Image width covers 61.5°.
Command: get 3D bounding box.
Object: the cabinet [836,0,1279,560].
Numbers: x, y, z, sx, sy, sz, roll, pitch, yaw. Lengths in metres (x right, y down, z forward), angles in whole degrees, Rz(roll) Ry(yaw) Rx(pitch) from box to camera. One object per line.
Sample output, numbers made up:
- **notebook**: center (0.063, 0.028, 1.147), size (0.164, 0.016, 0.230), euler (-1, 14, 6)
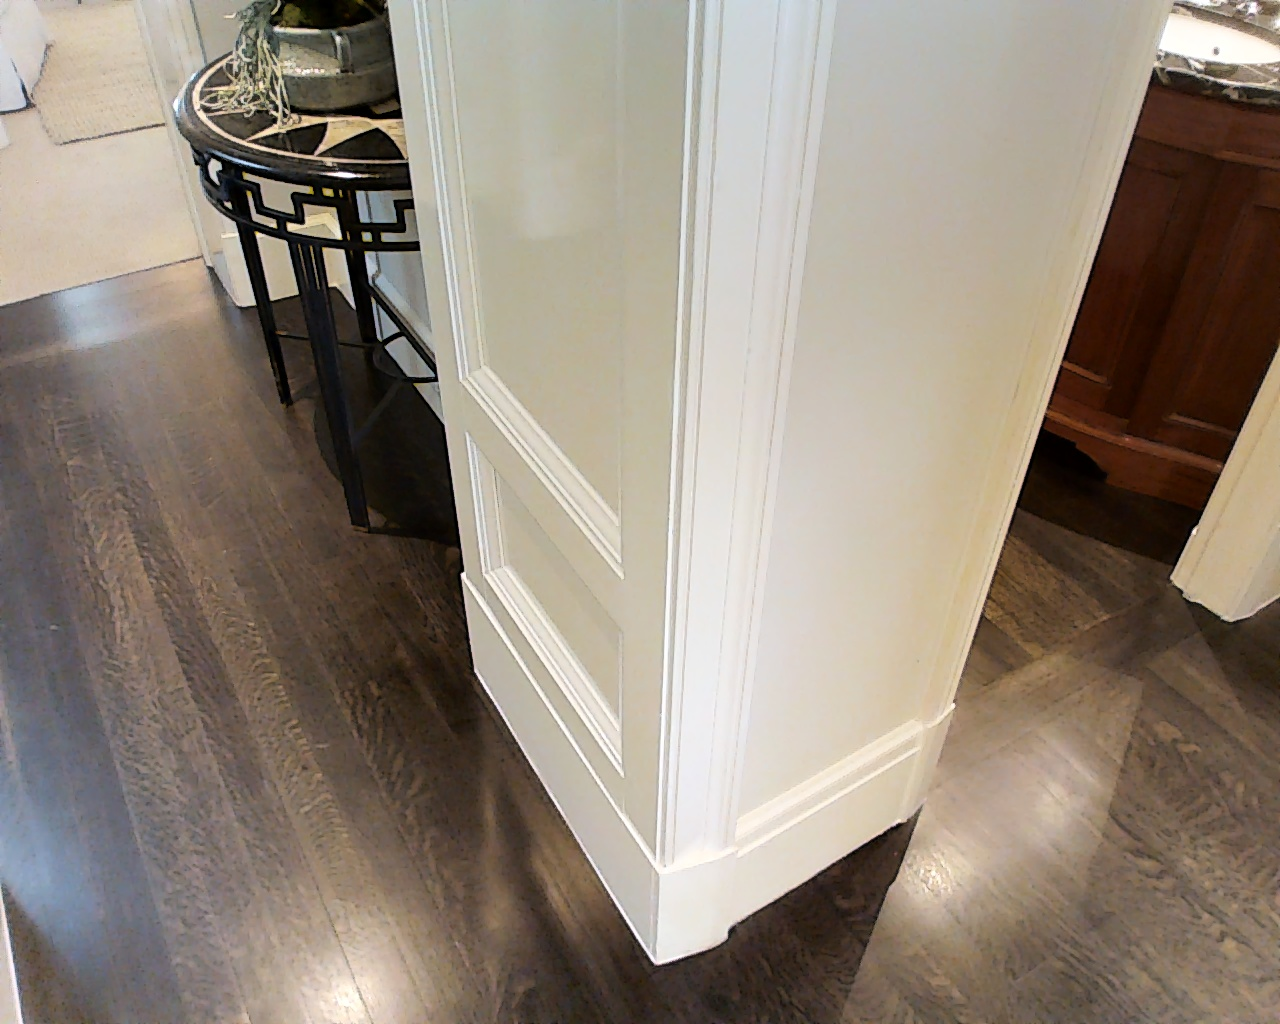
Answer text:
- **cabinet**: center (1.130, -0.700, 2.490), size (0.620, 0.980, 1.160), euler (-22, 47, -23)
